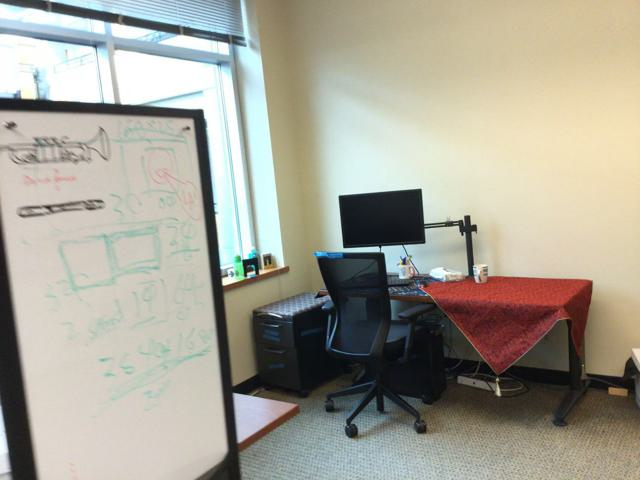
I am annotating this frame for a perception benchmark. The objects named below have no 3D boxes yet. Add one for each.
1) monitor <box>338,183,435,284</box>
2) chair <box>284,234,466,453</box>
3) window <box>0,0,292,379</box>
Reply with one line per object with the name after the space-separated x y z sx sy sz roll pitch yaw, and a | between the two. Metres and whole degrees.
0.430 -0.040 3.720 0.540 0.600 0.170 -4 6 22 | monitor
0.330 0.520 3.280 0.700 1.000 0.670 -2 6 36 | chair
-1.100 -0.420 3.350 0.440 1.810 2.170 -2 6 36 | window
